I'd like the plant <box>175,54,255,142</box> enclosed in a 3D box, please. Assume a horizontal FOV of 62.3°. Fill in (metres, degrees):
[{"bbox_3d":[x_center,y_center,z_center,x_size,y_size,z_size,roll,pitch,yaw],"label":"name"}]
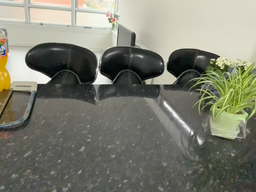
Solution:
[{"bbox_3d":[0.430,-0.010,0.930,0.280,0.260,0.310,-1,26,-16],"label":"plant"}]
